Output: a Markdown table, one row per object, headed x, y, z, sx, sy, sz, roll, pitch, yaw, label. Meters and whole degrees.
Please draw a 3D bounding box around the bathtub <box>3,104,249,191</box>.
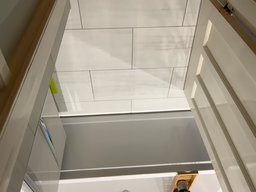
| x | y | z | sx | sy | sz | roll | pitch | yaw | label |
| --- | --- | --- | --- | --- | --- | --- | --- | --- | --- |
| -0.010 | 0.570 | 1.870 | 1.660 | 0.560 | 0.690 | -4 | 136 | -2 | bathtub |
